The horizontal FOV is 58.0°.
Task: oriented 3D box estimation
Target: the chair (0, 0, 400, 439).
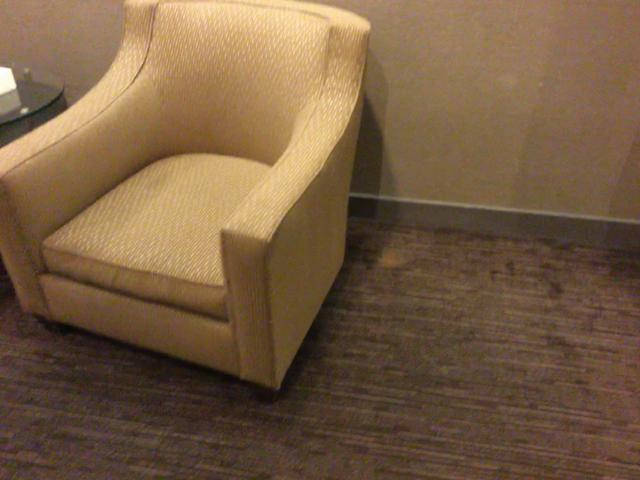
[{"bbox_3d":[-0.350,-0.200,1.750,0.910,0.930,0.940,11,33,16],"label":"chair"}]
